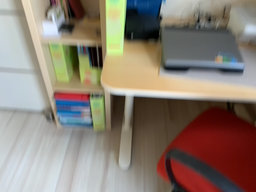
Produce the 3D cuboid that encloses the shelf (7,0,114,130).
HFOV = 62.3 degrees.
[{"bbox_3d":[-0.340,-0.420,1.310,0.470,1.420,0.430,3,42,-1],"label":"shelf"}]
